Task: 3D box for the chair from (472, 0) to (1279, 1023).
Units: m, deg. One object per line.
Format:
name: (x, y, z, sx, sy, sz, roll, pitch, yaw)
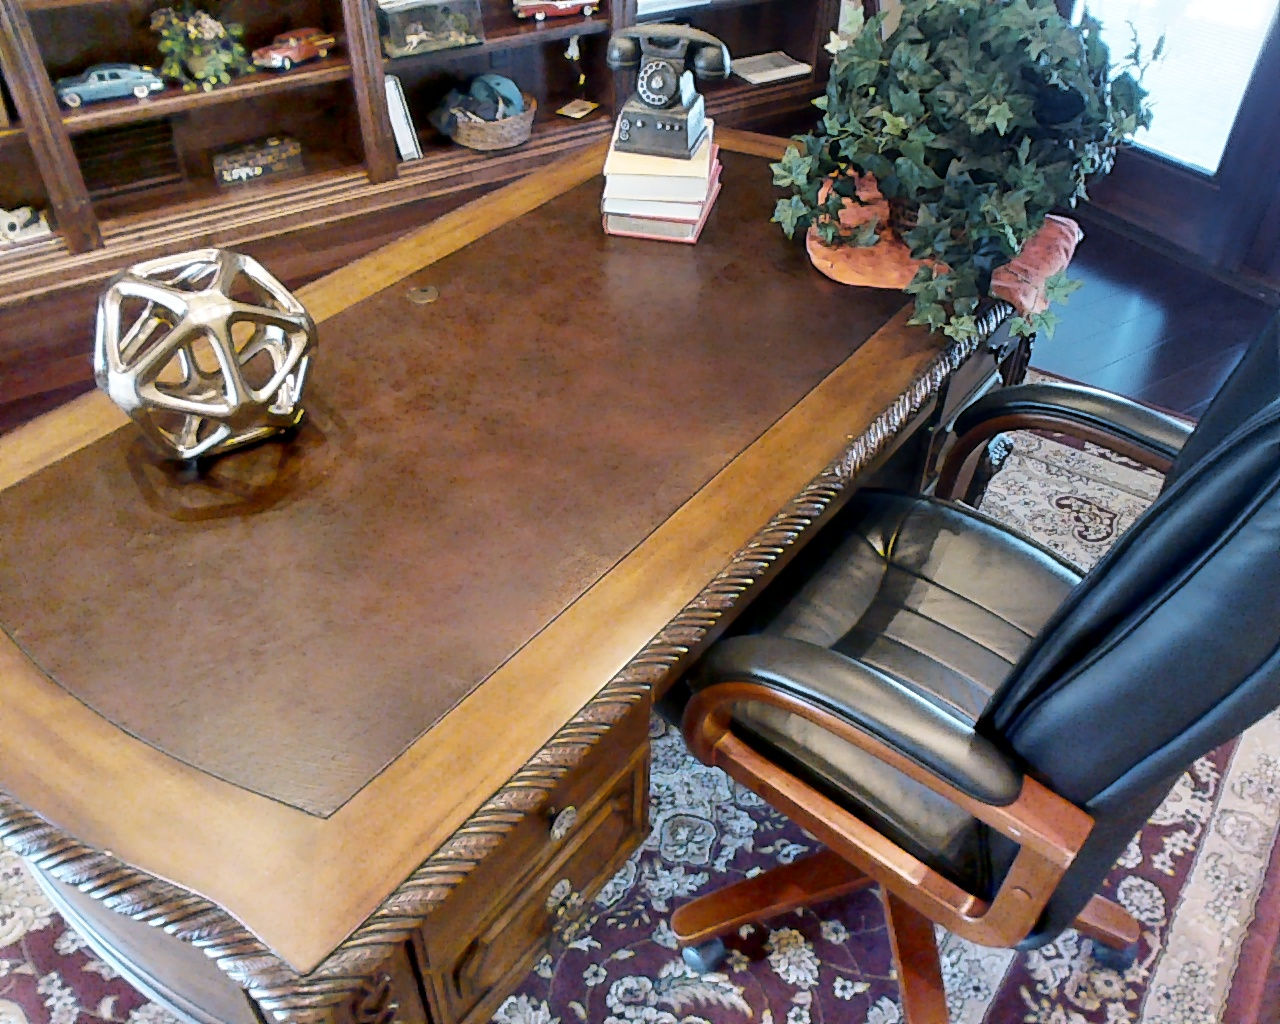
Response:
chair: (0.410, 0.120, 1.330, 0.780, 1.180, 0.770, 28, 48, 30)
